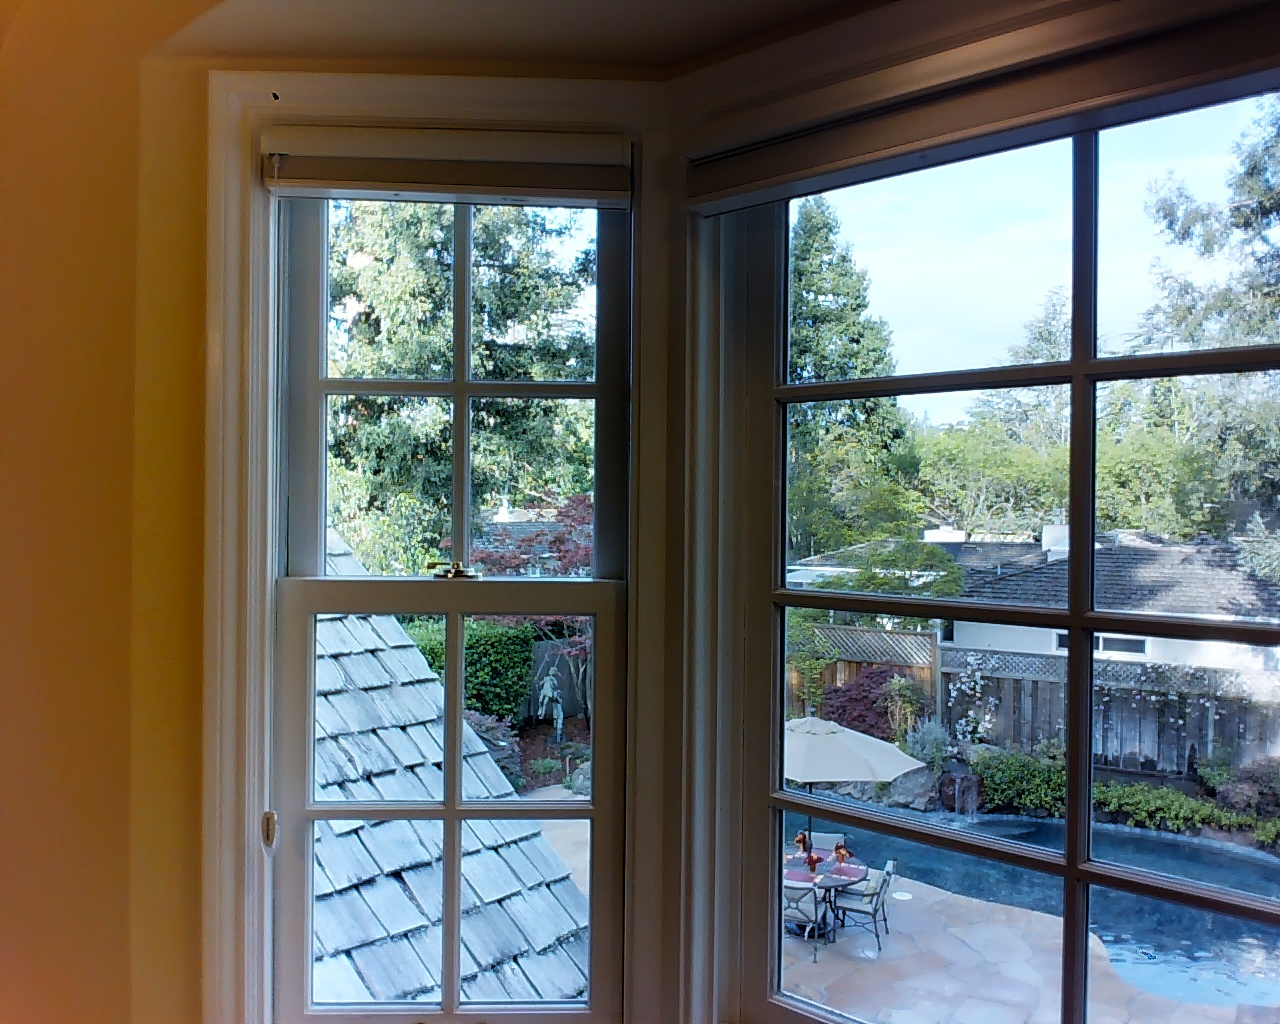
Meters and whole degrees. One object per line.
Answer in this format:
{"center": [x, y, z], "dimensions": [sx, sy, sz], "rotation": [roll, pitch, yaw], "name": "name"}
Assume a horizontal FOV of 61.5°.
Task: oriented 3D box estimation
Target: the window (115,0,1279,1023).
{"center": [0.540, 0.260, 0.670], "dimensions": [2.650, 1.610, 0.620], "rotation": [1, 0, 42], "name": "window"}
